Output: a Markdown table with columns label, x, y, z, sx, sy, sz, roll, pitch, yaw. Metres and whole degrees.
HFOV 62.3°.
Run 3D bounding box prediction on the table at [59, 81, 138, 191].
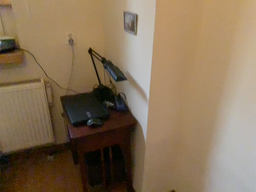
| label | x | y | z | sx | sy | sz | roll | pitch | yaw |
| --- | --- | --- | --- | --- | --- | --- | --- | --- | --- |
| table | -0.280 | 0.340 | 1.790 | 0.430 | 0.660 | 0.790 | -9 | 27 | -19 |
